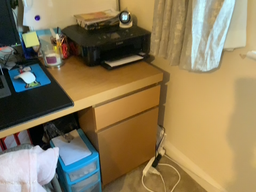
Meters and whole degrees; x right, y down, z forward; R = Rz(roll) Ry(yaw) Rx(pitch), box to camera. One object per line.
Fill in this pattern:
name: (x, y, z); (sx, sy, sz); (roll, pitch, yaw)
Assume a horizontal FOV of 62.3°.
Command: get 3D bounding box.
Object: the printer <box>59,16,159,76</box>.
printer: (-0.120, -0.330, 1.280); (0.450, 0.170, 0.390); (-19, 37, -27)
